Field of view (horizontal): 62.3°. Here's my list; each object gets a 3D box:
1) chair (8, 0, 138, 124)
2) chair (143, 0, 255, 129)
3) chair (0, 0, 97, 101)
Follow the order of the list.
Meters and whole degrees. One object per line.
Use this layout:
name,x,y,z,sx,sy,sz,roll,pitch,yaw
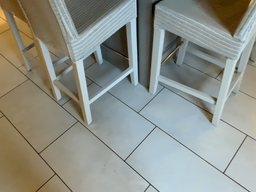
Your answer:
chair,-0.240,-0.350,1.150,0.360,0.940,0.480,35,61,26
chair,0.420,-0.360,1.100,0.490,0.970,0.450,35,61,26
chair,-0.580,-0.500,1.310,0.430,0.900,0.480,35,61,26
